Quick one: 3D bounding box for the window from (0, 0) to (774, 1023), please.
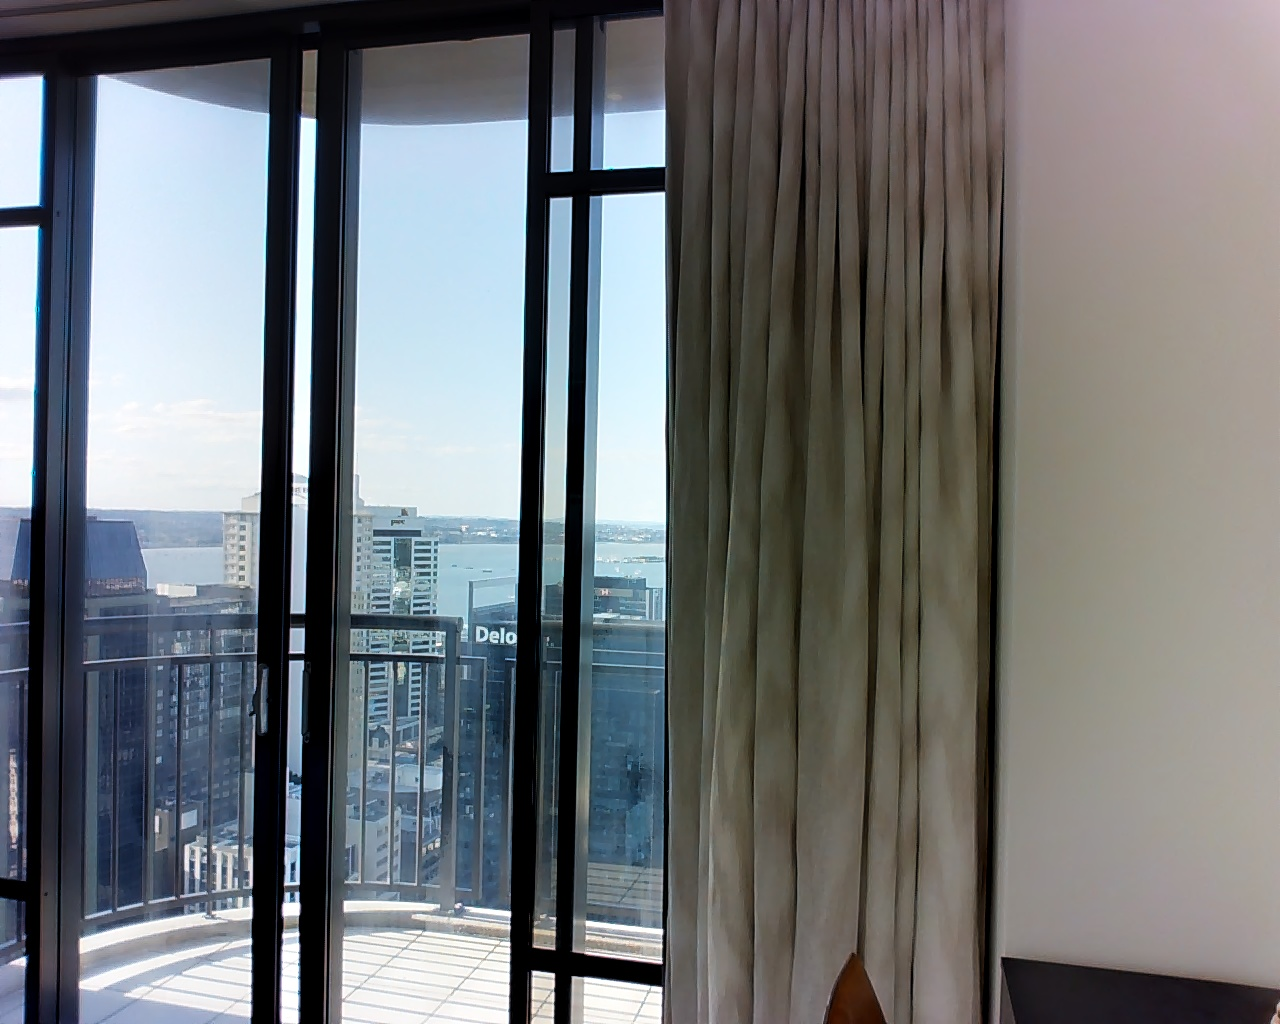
[{"bbox_3d":[-0.920,0.080,2.700,2.459,2.661,0.120,1,1,14],"label":"window"}]
